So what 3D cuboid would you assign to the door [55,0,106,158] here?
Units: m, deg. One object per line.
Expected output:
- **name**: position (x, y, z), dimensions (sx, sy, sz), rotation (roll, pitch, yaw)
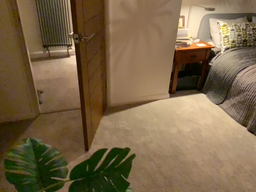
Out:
- **door**: position (-0.330, -0.530, 1.670), dimensions (0.100, 2.030, 0.770), rotation (5, 30, 5)
